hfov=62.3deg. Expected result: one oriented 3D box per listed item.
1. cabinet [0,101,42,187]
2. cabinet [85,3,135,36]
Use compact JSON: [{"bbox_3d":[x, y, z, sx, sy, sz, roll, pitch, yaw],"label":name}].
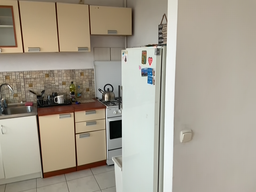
[{"bbox_3d":[-1.520,0.570,2.590,0.780,0.850,0.520,-5,13,-24],"label":"cabinet"},{"bbox_3d":[-0.250,-1.040,2.960,0.630,0.360,0.320,-5,13,-24],"label":"cabinet"}]
